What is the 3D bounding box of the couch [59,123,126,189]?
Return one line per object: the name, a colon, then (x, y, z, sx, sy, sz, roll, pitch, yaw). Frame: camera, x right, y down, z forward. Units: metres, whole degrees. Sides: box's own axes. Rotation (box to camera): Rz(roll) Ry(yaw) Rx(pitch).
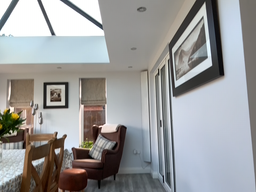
couch: (-0.630, 1.030, 3.980, 0.800, 0.990, 0.960, -4, -7, 30)
